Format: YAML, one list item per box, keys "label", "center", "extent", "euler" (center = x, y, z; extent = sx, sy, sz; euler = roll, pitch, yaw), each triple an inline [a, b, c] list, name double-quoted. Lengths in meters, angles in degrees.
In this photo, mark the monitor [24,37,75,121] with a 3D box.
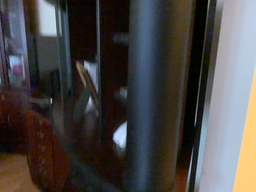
- label: "monitor"
  center: [-0.740, -0.210, 1.910]
  extent: [0.070, 0.600, 0.970]
  euler: [-11, 20, -38]
